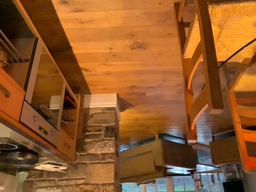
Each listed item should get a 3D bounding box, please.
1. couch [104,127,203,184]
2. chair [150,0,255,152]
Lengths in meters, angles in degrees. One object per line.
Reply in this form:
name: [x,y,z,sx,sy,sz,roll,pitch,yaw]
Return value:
couch: [0.460,1.430,4.690,1.120,0.810,1.840,19,146,-35]
chair: [0.430,-0.280,1.090,0.530,1.020,0.400,-2,153,0]
